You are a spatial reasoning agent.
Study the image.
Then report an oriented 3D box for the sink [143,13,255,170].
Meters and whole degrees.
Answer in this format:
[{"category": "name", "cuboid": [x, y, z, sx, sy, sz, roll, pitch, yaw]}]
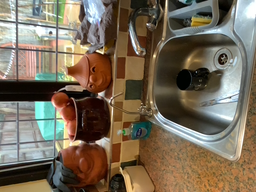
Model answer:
[{"category": "sink", "cuboid": [0.290, -0.050, 0.820, 0.520, 0.190, 0.420, 21, 110, 60]}]
